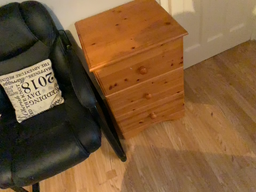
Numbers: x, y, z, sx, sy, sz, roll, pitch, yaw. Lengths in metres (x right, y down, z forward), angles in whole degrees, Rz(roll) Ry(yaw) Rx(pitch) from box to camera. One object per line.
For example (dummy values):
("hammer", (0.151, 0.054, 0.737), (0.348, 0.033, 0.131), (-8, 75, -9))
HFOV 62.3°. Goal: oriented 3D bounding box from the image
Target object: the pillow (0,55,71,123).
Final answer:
("pillow", (-0.500, -0.020, 1.120), (0.280, 0.260, 0.130), (-44, 44, 23))
